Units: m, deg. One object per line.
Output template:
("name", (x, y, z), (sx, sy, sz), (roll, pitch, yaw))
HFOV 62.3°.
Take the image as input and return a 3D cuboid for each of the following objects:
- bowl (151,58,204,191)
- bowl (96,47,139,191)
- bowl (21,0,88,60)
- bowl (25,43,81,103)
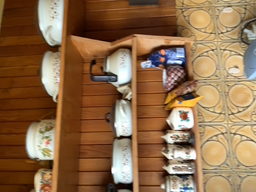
("bowl", (0.190, 0.210, 0.870), (0.170, 0.170, 0.710), (70, -161, -76))
("bowl", (-0.030, 0.190, 0.860), (0.220, 0.140, 0.730), (70, -161, -76))
("bowl", (-0.320, -0.340, 0.990), (0.280, 0.180, 0.240), (70, -161, -76))
("bowl", (-0.320, -0.090, 0.950), (0.230, 0.140, 0.200), (67, -158, -77))
